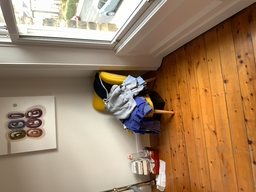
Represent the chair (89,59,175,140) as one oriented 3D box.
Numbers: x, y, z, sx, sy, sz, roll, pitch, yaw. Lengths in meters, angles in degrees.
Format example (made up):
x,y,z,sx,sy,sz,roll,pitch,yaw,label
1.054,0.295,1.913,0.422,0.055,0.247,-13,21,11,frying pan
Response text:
x,y,z,sx,sy,sz,roll,pitch,yaw,label
-0.010,0.020,2.470,0.680,0.690,0.590,-115,32,-42,chair
